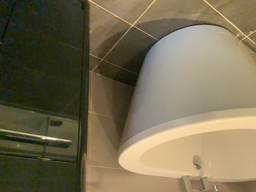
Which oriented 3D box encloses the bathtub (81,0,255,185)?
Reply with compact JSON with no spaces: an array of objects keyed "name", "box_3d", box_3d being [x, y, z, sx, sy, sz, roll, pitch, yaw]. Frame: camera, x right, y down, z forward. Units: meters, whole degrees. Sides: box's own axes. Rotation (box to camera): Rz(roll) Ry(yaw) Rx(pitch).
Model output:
[{"name":"bathtub","box_3d":[0.600,0.130,1.390,1.570,0.630,0.790,20,139,-35]}]
